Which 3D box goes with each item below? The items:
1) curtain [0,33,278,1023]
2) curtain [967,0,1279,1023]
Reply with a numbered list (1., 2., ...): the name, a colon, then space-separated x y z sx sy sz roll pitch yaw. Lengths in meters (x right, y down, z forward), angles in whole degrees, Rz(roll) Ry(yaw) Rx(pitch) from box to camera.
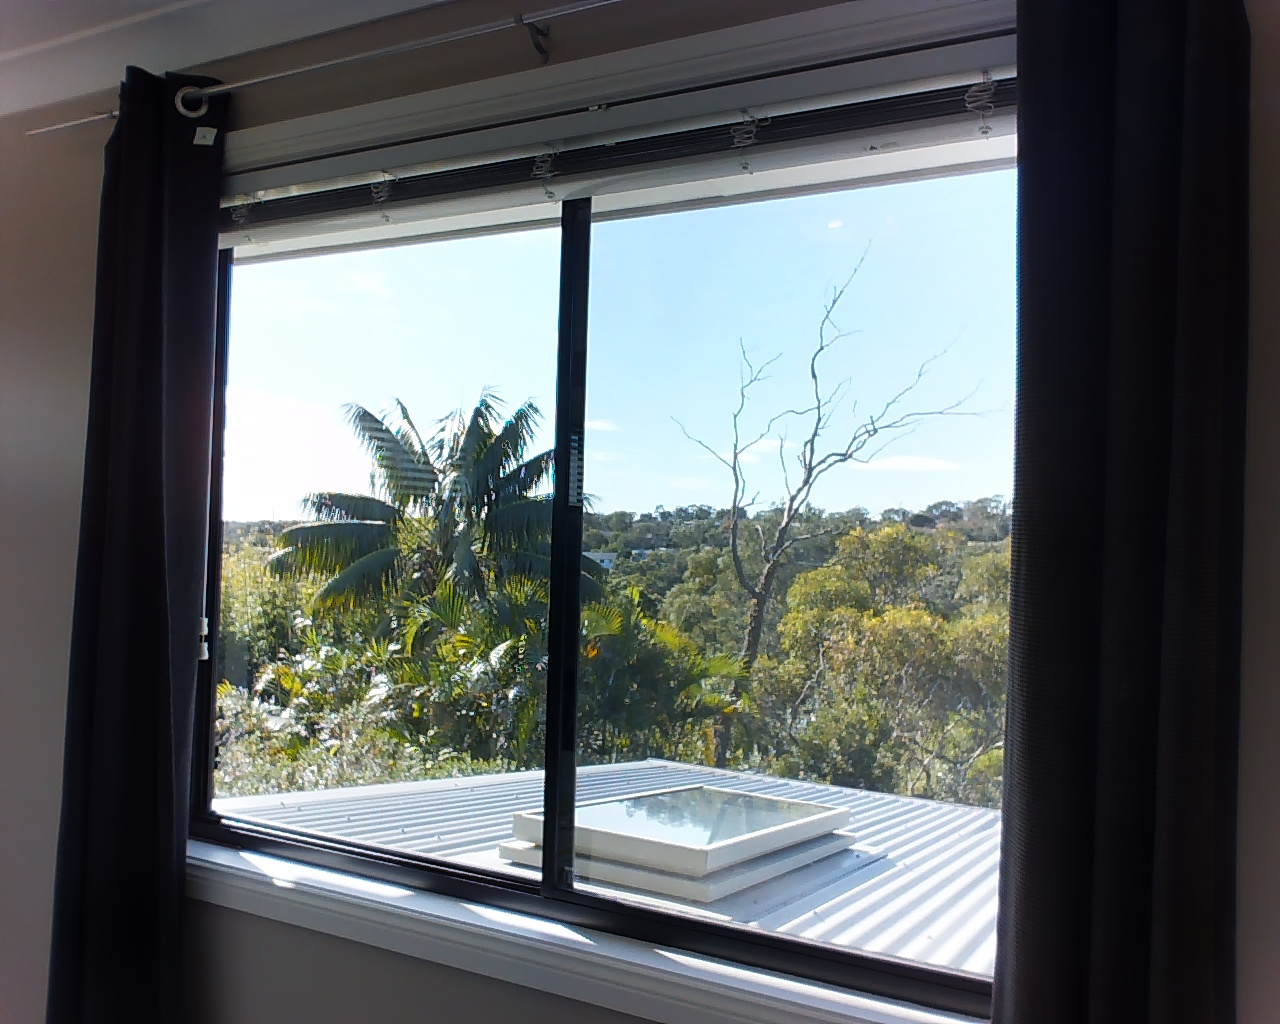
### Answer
1. curtain: -0.970 0.260 2.060 0.380 2.221 0.240 1 -2 28
2. curtain: 0.570 0.270 1.260 0.310 2.241 0.200 1 -2 27
